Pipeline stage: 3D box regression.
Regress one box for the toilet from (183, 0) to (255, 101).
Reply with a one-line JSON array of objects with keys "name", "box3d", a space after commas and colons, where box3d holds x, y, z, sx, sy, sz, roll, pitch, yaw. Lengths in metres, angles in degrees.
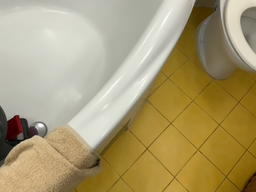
[{"name": "toilet", "box3d": [0.630, -0.430, 1.020, 0.400, 0.820, 0.690, 1, 71, -5]}]
